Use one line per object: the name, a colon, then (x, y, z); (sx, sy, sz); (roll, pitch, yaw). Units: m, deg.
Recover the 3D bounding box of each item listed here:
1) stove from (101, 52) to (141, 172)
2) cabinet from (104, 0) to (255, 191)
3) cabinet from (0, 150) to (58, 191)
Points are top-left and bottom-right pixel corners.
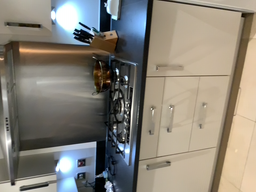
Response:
stove: (-0.090, 0.080, 1.660); (0.600, 0.050, 0.770); (-143, 54, -60)
cabinet: (0.330, 0.090, 1.850); (0.690, 0.870, 1.560); (-147, 57, -62)
cabinet: (-0.950, 0.700, 1.650); (0.360, 0.740, 0.300); (-147, 57, -62)
